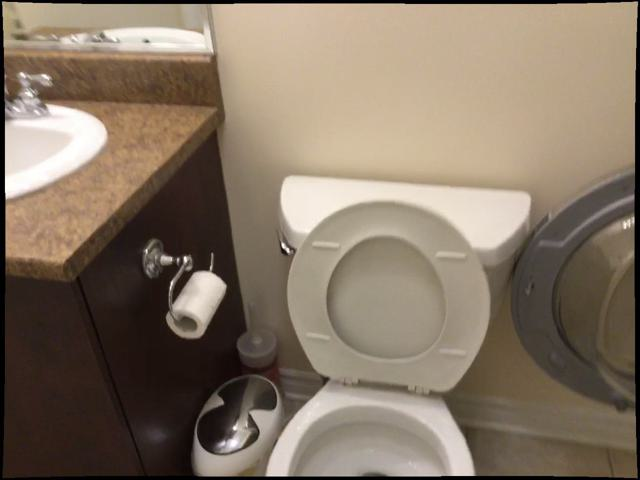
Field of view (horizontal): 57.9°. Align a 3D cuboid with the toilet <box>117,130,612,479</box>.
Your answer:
[{"bbox_3d":[0.110,0.310,1.090,0.510,0.771,0.700,6,36,11],"label":"toilet"}]

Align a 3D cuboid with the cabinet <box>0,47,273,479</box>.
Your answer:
[{"bbox_3d":[-0.609,0.140,1.240,0.819,0.921,0.570,6,36,11],"label":"cabinet"}]
